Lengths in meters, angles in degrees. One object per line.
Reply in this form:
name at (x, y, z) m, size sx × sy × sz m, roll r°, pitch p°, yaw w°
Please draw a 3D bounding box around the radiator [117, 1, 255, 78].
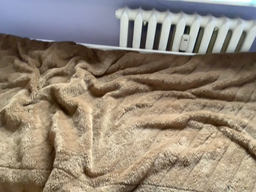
radiator at (0.340, -0.350, 1.340) m, size 0.800 × 0.360 × 0.160 m, roll 6°, pitch 42°, yaw 3°
